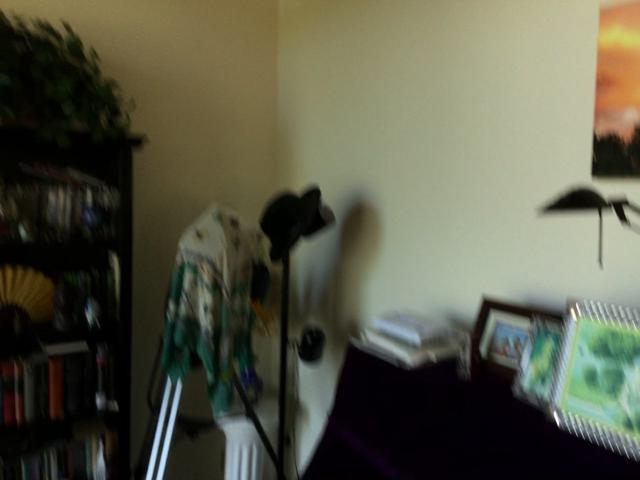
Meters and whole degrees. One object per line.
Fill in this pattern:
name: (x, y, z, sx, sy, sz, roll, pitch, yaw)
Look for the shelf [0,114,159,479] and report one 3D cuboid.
shelf: (-1.200, 0.500, 2.090, 0.960, 1.840, 0.460, 4, 1, -36)
